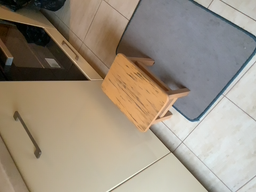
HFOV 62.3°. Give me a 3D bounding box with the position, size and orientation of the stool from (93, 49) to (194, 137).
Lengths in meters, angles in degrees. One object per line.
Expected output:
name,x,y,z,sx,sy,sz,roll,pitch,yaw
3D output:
stool,0.080,-0.030,1.110,0.360,0.300,0.240,44,117,25
